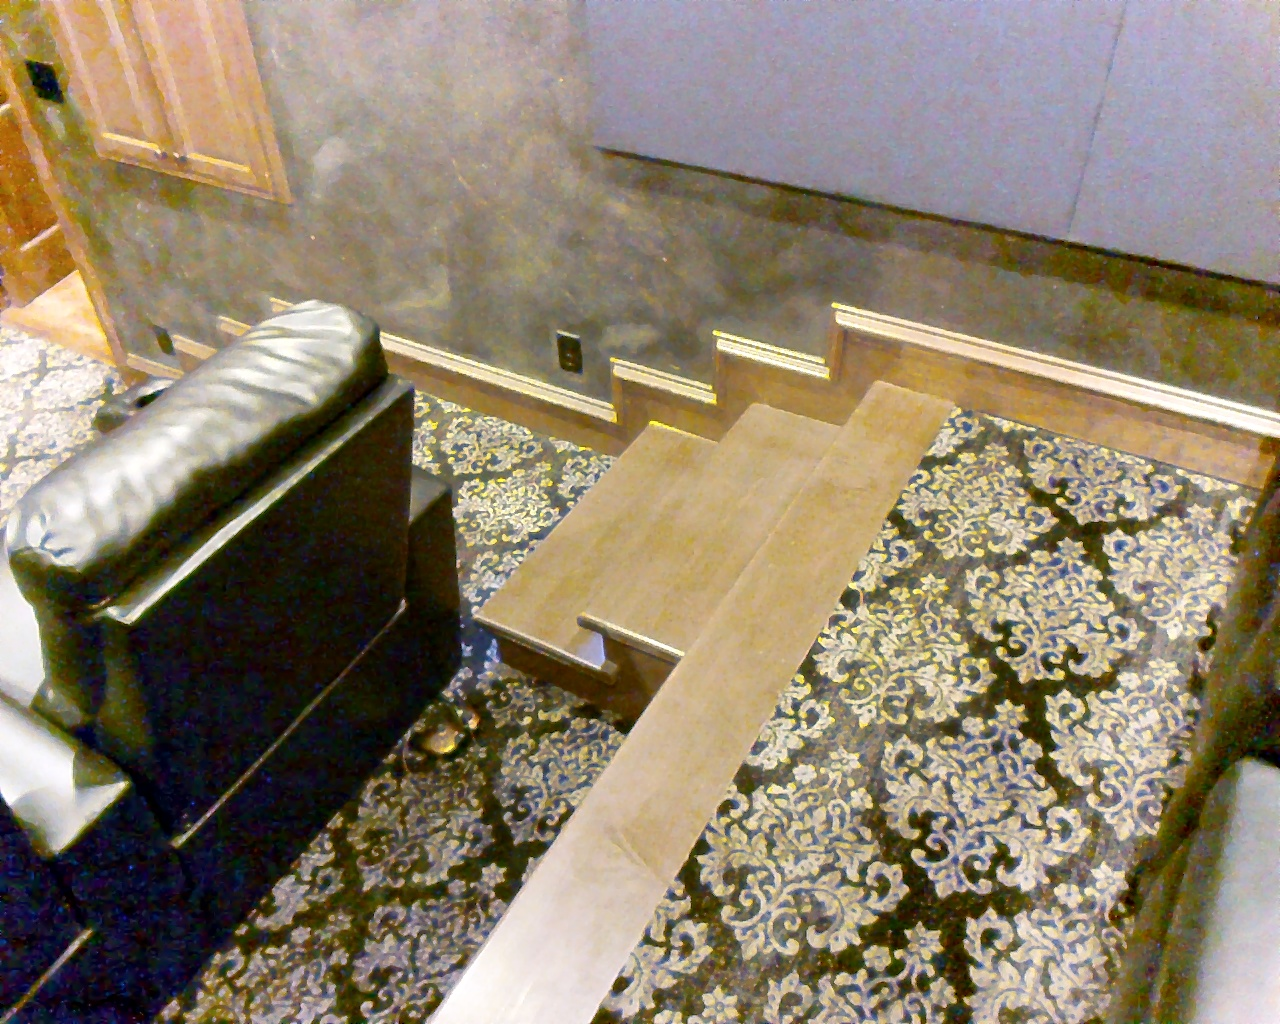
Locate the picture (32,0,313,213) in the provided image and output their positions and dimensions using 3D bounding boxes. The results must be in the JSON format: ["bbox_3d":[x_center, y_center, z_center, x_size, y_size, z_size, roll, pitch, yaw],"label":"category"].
[{"bbox_3d":[-1.350,-1.440,2.830,0.840,1.190,0.080,19,46,23],"label":"picture"}]
